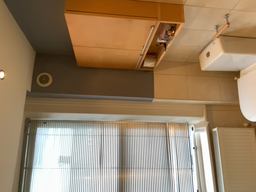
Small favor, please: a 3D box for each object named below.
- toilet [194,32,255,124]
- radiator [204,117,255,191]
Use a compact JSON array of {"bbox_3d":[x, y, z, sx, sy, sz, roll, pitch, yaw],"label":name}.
[{"bbox_3d":[1.040,-0.120,1.800,0.380,0.780,0.650,116,156,-72],"label":"toilet"},{"bbox_3d":[1.060,0.690,2.000,0.120,0.570,0.950,115,157,-71],"label":"radiator"}]
